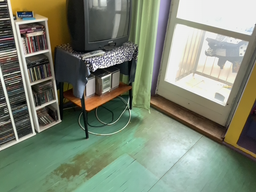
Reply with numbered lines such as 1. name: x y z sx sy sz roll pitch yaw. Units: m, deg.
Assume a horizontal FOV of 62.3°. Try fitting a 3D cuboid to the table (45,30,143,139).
1. table: -0.320 -0.160 2.100 0.540 0.760 0.680 28 38 33
